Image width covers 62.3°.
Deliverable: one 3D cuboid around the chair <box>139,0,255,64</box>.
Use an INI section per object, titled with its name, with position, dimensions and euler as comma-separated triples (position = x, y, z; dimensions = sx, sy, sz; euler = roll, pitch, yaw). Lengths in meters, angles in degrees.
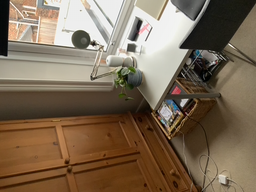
[chair]
position = 0.600, -0.510, 1.290
dimensions = 0.480, 0.870, 0.380
euler = 59, 137, 38
